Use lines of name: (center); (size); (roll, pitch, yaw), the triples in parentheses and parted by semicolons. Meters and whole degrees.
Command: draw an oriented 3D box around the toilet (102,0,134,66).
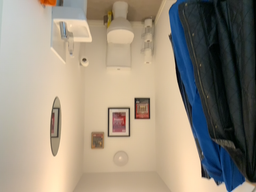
toilet: (-0.150, -0.870, 2.970); (0.390, 0.770, 0.670); (0, 175, -4)

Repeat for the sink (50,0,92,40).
sink: (-0.440, -0.630, 1.740); (0.240, 0.170, 0.490); (0, 175, -4)
